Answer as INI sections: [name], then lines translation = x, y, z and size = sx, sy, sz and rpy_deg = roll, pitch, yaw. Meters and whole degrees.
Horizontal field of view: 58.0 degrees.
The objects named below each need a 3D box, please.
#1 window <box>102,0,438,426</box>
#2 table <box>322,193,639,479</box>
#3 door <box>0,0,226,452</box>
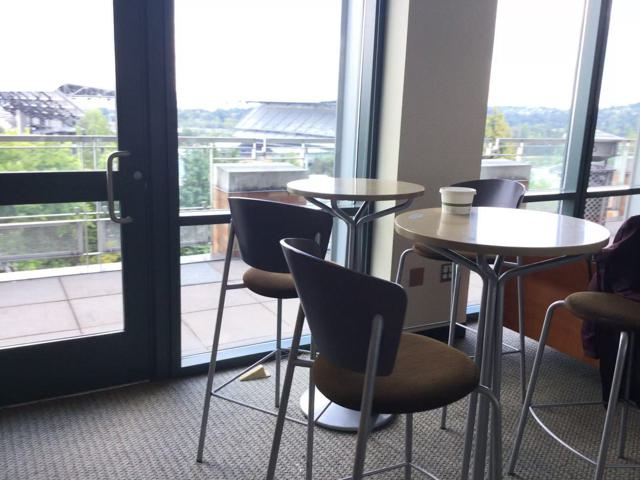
[window]
translation = -0.190, -0.280, 2.950
size = 1.330, 1.980, 0.380
rpy_deg = -12, 3, -31
[table]
translation = 0.490, 0.470, 1.810
size = 0.660, 1.110, 0.620
rpy_deg = -12, 15, -31
[door]
translation = -1.150, -0.180, 2.480
size = 1.240, 1.950, 0.360
rpy_deg = -12, 15, -31
